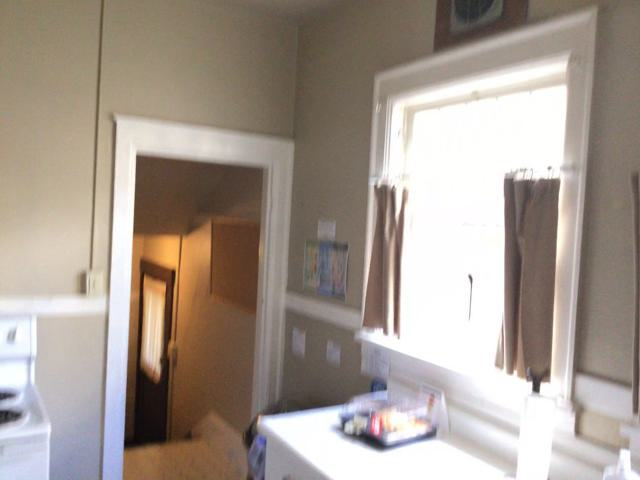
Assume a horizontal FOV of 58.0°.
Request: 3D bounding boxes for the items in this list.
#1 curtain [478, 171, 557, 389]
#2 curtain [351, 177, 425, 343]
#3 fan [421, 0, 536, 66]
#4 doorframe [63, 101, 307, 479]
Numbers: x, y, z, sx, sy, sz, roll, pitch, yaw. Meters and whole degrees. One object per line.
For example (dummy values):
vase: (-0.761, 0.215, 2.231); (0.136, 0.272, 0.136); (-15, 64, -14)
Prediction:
curtain: (0.620, 0.120, 1.820); (0.100, 0.650, 0.170); (5, -2, -31)
curtain: (0.280, 0.080, 2.400); (0.140, 0.650, 0.240); (5, -2, -31)
fan: (0.560, -0.860, 2.070); (0.090, 0.350, 0.450); (5, -2, -31)
doorframe: (-0.710, 0.440, 3.110); (1.050, 2.100, 0.420); (5, -2, -31)
